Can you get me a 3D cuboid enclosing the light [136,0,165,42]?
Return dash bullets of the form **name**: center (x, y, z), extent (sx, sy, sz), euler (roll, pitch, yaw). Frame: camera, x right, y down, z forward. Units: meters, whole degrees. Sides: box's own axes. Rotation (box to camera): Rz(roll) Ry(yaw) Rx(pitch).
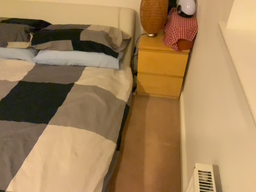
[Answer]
- **light**: center (0.190, -0.680, 1.720), extent (0.190, 0.390, 0.250), euler (8, 40, 8)
